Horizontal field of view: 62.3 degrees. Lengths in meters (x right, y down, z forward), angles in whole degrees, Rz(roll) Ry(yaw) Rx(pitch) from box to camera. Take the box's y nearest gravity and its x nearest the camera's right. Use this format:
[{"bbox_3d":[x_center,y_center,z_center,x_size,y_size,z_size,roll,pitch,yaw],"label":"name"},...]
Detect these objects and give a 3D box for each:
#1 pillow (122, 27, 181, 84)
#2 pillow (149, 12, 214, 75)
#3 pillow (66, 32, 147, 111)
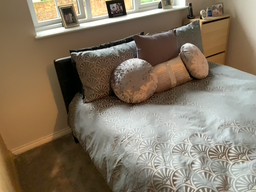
[{"bbox_3d":[0.210,-0.340,1.730,0.460,0.310,0.130,-25,33,-21],"label":"pillow"},{"bbox_3d":[0.540,-0.530,2.090,0.550,0.340,0.260,-36,36,-15],"label":"pillow"},{"bbox_3d":[-0.160,-0.210,1.780,0.530,0.420,0.180,-32,35,-15],"label":"pillow"}]
